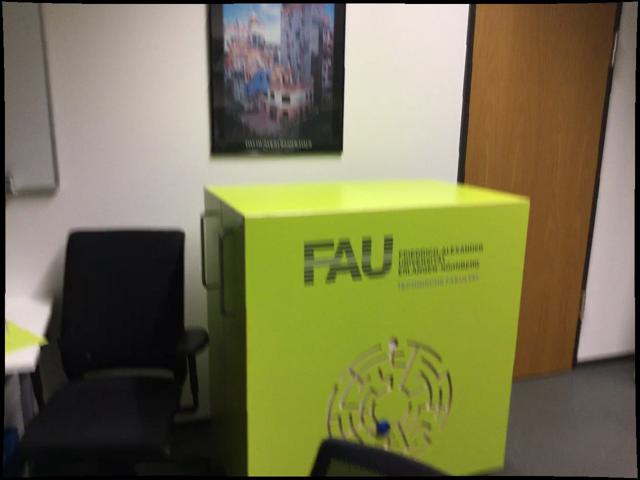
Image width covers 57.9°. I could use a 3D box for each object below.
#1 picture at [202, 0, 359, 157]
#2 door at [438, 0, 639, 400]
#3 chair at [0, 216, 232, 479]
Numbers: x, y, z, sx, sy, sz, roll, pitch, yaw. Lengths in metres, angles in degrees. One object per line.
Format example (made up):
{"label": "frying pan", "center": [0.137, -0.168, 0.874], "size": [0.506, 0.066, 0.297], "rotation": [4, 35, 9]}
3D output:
{"label": "picture", "center": [-0.160, -0.791, 2.480], "size": [0.659, 0.841, 0.060], "rotation": [-4, 16, -17]}
{"label": "door", "center": [1.109, -0.240, 2.960], "size": [0.849, 2.102, 0.190], "rotation": [-2, 13, -18]}
{"label": "chair", "center": [-0.769, 0.511, 2.170], "size": [0.739, 1.021, 0.790], "rotation": [-4, 16, -17]}
